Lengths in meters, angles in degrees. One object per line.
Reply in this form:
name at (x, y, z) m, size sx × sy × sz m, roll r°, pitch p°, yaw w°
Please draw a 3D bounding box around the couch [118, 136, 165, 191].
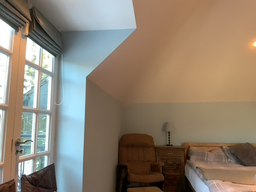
couch at (0.170, 1.170, 3.480) m, size 0.660 × 0.970 × 0.800 m, roll 0°, pitch -8°, yaw -4°
